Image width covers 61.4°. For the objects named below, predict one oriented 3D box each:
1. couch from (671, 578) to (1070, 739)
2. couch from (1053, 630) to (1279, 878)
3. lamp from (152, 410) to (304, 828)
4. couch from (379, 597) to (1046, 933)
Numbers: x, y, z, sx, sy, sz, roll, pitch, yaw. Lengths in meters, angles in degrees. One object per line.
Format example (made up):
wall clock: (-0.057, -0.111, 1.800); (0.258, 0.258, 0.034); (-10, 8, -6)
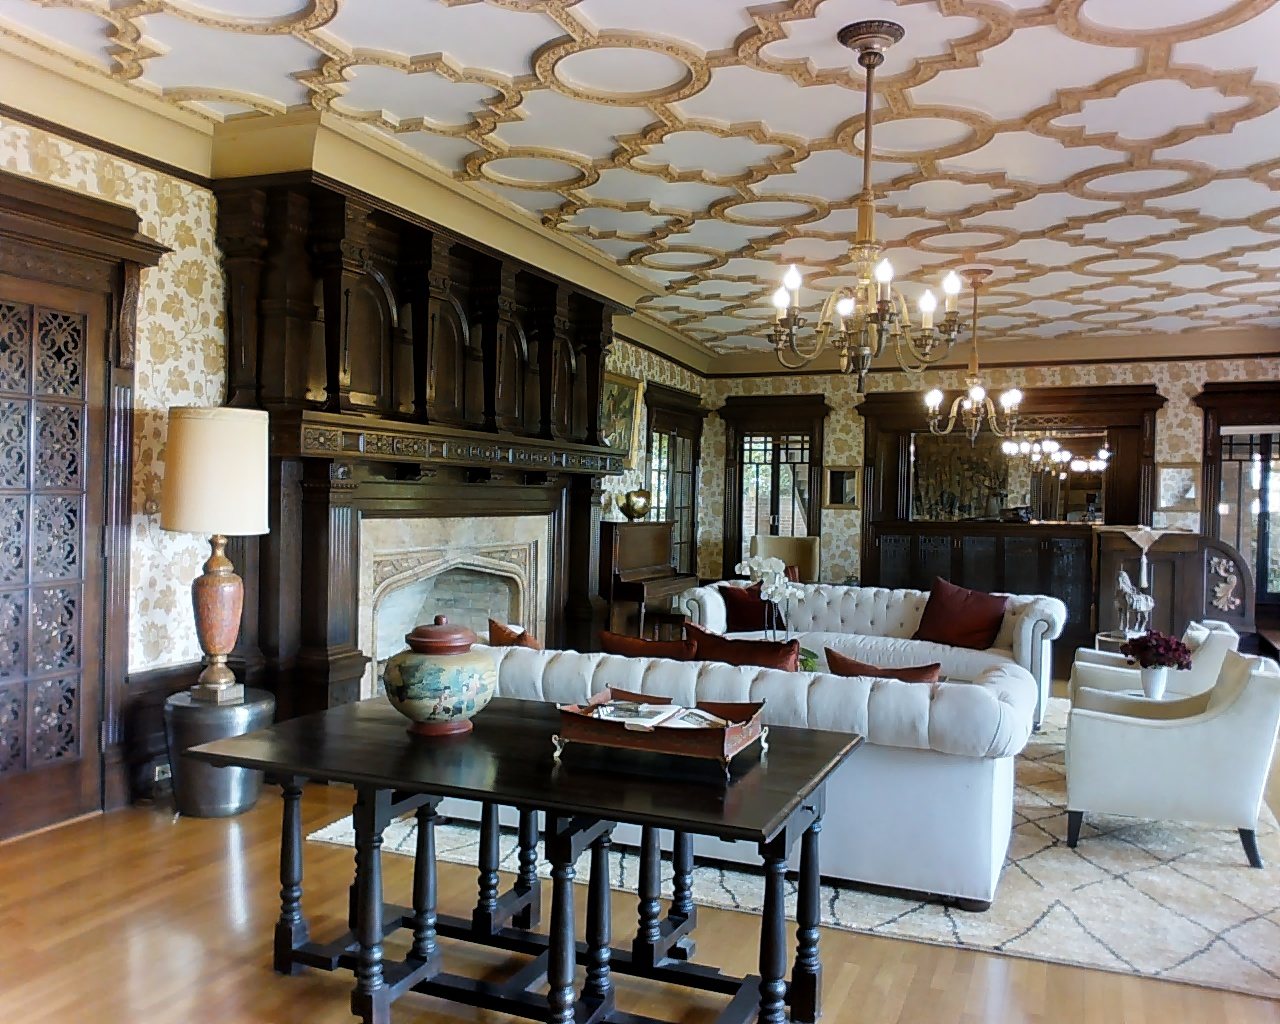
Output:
couch: (1.750, 1.040, 8.190); (2.810, 0.880, 1.110); (1, 1, 22)
couch: (2.470, 1.070, 5.020); (0.960, 0.890, 0.820); (1, 1, 24)
lamp: (-1.970, 0.480, 5.170); (0.490, 1.890, 0.450); (1, 1, 22)
couch: (0.320, 0.980, 4.860); (2.780, 0.970, 1.100); (1, 1, 22)
